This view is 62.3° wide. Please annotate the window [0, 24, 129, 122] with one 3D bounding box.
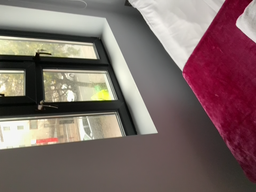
[{"bbox_3d":[-0.670,-0.250,1.810,0.070,1.130,1.060,114,145,-42],"label":"window"}]
